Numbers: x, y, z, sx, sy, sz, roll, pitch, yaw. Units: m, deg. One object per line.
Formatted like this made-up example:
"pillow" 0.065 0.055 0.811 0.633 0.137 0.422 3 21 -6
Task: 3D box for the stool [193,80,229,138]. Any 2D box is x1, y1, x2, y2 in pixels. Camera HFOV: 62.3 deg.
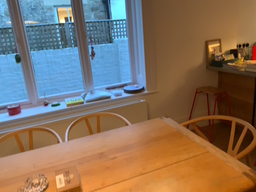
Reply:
"stool" 1.090 0.160 2.820 0.270 0.650 0.350 -11 18 -18

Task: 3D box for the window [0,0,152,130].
"window" -0.900 -0.650 2.470 2.280 1.700 0.530 -12 18 -21

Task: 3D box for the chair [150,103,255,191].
"chair" 0.570 0.540 1.620 0.600 0.760 0.520 -11 18 -17
